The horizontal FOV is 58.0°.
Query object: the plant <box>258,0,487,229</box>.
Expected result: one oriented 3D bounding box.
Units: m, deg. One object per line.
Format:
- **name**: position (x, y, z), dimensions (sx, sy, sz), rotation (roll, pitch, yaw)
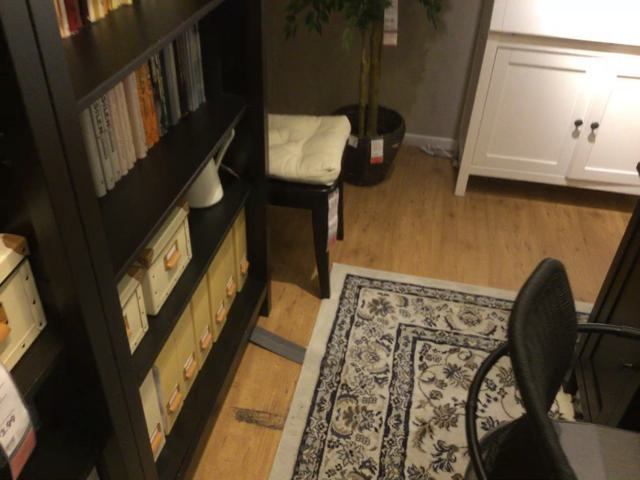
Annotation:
- **plant**: position (0.240, -0.950, 2.160), dimensions (0.740, 1.620, 0.730), rotation (7, 37, 12)
